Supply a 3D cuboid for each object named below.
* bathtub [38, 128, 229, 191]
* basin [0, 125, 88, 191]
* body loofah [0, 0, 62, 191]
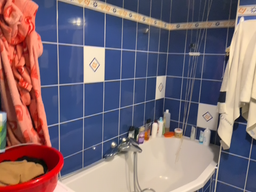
[{"bbox_3d":[0.200,0.830,1.730,0.740,0.620,1.540,11,13,37],"label":"bathtub"},{"bbox_3d":[-0.490,0.320,0.970,0.390,0.190,0.460,12,14,41],"label":"basin"},{"bbox_3d":[-0.550,-0.040,1.060,0.130,1.030,0.410,11,13,37],"label":"body loofah"}]
